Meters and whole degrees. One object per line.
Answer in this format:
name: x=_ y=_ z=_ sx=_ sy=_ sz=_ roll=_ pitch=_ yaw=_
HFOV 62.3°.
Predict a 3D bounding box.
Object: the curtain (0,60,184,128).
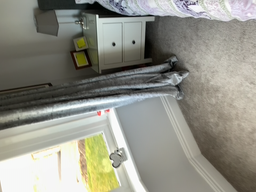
curtain: x=-0.620 y=-0.010 z=1.590 sx=0.420 sy=2.390 sz=0.190 roll=29 pitch=126 yaw=55
